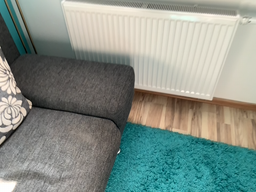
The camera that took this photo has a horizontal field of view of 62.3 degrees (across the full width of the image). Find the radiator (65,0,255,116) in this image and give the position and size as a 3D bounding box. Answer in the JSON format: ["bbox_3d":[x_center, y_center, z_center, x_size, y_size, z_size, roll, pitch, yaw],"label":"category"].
[{"bbox_3d":[0.180,-0.270,1.430,1.020,0.720,0.240,9,45,9],"label":"radiator"}]
